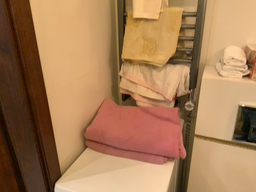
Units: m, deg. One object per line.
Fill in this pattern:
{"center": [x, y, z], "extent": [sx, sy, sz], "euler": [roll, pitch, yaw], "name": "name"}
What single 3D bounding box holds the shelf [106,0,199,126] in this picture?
{"center": [0.110, -0.400, 0.940], "extent": [0.380, 1.080, 0.160], "euler": [8, 26, 18], "name": "shelf"}
